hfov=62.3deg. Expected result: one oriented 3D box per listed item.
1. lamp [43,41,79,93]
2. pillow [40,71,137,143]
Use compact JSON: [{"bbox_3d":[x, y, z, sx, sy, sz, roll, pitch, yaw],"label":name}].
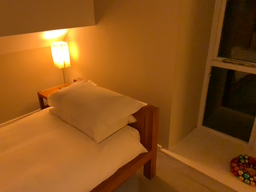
[{"bbox_3d":[-0.810,-0.360,2.600,0.260,0.550,0.260,20,32,38],"label":"lamp"},{"bbox_3d":[-0.350,0.040,1.800,0.790,0.260,0.380,20,32,38],"label":"pillow"}]
